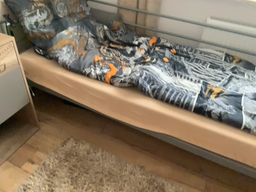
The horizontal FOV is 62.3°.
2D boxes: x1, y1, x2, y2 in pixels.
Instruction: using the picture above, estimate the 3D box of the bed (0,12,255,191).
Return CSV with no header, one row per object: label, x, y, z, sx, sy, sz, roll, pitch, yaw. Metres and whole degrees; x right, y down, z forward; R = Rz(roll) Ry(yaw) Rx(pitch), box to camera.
bed,0.200,-0.060,1.700,2.170,0.530,0.990,19,41,17
